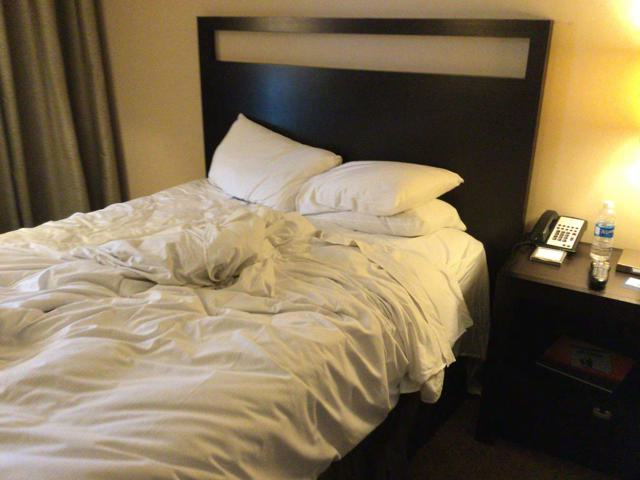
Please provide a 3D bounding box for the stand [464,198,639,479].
[{"bbox_3d":[1.010,0.360,1.950,0.800,0.790,0.570,13,22,31],"label":"stand"}]
